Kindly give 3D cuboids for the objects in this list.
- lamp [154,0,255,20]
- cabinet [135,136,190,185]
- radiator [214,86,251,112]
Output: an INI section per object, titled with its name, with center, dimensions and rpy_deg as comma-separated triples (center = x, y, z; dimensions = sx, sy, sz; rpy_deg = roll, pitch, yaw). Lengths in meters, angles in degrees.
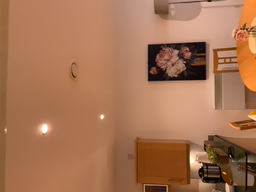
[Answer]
[lamp]
center = 1.290, -1.470, 3.300
dimensions = 0.330, 1.740, 0.350
rpy_deg = 14, -104, -82
[cabinet]
center = 0.520, 0.960, 3.260
dimensions = 0.340, 0.790, 0.630
rpy_deg = 14, -104, -82
[radiator]
center = 1.610, 0.050, 3.280
dimensions = 0.110, 0.490, 0.380
rpy_deg = 25, -116, -82
